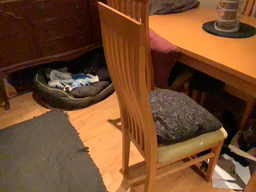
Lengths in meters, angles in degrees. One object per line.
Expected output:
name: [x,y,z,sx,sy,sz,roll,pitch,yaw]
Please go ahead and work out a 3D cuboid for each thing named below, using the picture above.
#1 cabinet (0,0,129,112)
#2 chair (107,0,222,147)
cabinet: [-0.730,-0.610,2.210,1.380,0.920,0.580,-24,42,-27]
chair: [0.220,-0.240,1.520,0.540,1.070,0.420,-20,40,-23]
